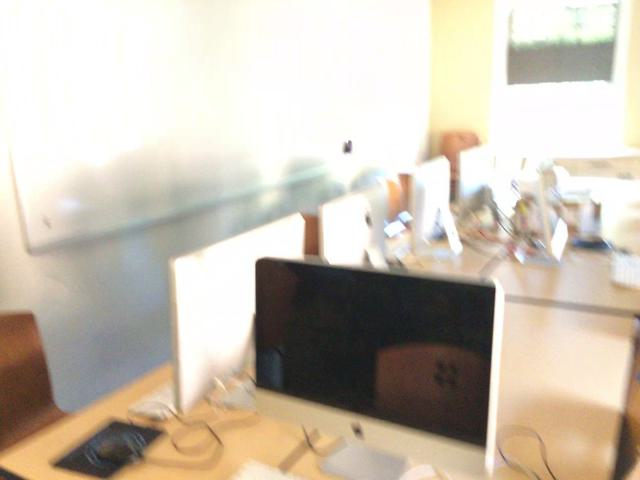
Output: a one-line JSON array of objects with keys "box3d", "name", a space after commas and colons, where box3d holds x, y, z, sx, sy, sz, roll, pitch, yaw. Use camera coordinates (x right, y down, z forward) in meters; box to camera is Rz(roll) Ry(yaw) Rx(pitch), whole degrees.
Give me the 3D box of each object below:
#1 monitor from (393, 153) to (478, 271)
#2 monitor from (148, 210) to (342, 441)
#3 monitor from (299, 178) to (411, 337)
[{"box3d": [0.530, -0.150, 2.610, 0.220, 0.430, 0.510, 6, 16, 29], "name": "monitor"}, {"box3d": [-0.150, 0.170, 1.440, 0.180, 0.390, 0.520, 6, 16, 29], "name": "monitor"}, {"box3d": [0.140, 0.030, 1.950, 0.160, 0.400, 0.520, 6, 16, 29], "name": "monitor"}]
